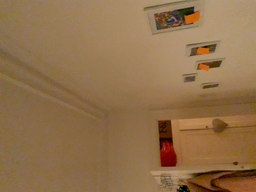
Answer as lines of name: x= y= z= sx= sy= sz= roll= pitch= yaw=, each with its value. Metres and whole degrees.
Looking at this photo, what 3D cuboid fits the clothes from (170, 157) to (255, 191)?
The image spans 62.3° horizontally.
clothes: x=1.050 y=0.720 z=1.890 sx=0.450 sy=1.290 sz=0.210 roll=65 pitch=-157 yaw=-54
